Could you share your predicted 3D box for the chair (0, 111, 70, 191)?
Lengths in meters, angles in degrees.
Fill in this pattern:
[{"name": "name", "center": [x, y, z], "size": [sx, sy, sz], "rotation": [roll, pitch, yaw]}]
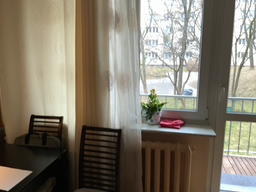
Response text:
[{"name": "chair", "center": [-0.770, 0.660, 1.770], "size": [0.370, 0.960, 0.470], "rotation": [2, 10, 8]}]
